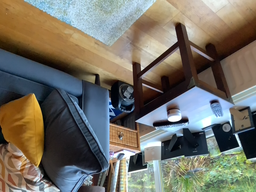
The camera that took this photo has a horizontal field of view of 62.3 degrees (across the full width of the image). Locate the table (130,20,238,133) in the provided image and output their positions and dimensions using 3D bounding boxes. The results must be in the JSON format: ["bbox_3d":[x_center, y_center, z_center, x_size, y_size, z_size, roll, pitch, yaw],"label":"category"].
[{"bbox_3d":[0.320,-0.090,1.400,0.390,0.460,0.490,19,143,-30],"label":"table"}]
